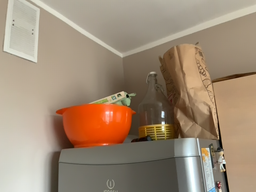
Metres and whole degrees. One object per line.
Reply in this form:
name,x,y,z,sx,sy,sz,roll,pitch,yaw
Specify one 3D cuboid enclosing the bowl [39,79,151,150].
bowl,-0.140,0.130,1.050,0.340,0.250,0.420,-12,-18,30
